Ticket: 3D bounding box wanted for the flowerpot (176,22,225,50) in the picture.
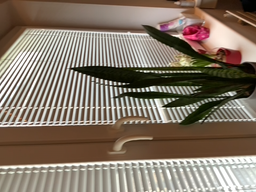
[{"bbox_3d":[0.540,-0.460,1.620,0.220,0.260,0.140,-103,15,-56],"label":"flowerpot"}]
